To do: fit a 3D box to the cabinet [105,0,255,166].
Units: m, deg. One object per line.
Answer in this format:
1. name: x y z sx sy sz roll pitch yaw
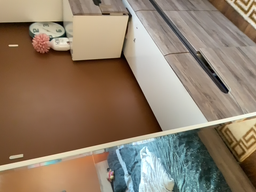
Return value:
1. cabinet: 0.450 -0.360 1.700 0.510 0.830 1.520 108 147 -49
